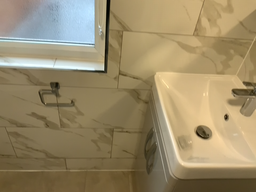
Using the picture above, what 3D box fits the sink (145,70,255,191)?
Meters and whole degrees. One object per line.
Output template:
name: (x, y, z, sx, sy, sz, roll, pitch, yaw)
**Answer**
sink: (0.320, 0.120, 0.890, 0.410, 0.190, 0.490, 3, 40, -7)
